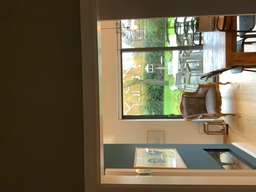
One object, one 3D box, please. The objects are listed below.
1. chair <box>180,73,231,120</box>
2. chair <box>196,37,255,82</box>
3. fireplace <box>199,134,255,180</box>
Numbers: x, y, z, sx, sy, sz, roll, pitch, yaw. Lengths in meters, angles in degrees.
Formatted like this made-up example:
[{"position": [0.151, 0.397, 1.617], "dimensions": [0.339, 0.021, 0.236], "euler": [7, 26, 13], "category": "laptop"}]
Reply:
[{"position": [1.660, 0.040, 4.710], "dimensions": [0.700, 0.840, 0.880], "euler": [78, -168, -73], "category": "chair"}, {"position": [1.530, -0.510, 3.110], "dimensions": [0.540, 0.910, 0.570], "euler": [-33, -58, -86], "category": "chair"}, {"position": [1.400, 0.850, 3.130], "dimensions": [0.930, 0.440, 0.360], "euler": [-45, -46, -85], "category": "fireplace"}]
